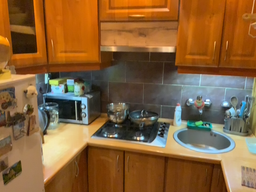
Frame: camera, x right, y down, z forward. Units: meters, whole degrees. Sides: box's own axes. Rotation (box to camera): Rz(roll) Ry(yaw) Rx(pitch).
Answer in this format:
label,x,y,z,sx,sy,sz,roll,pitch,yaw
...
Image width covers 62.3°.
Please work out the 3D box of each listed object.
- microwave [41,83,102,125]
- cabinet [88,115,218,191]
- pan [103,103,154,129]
label,x,y,z,sx,sy,sz,roll,pitch,yaw
microwave,-0.520,0.060,2.030,0.460,0.290,0.310,4,14,13
cabinet,0.210,0.700,1.830,0.900,0.840,0.600,5,14,15
pan,0.010,0.170,1.940,0.410,0.120,0.280,4,14,13
